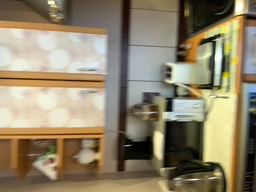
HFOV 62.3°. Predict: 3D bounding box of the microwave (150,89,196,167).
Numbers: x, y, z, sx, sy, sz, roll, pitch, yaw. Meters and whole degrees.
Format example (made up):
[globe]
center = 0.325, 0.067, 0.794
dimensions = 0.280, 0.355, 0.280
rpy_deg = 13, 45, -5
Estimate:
[microwave]
center = 0.290, 0.190, 1.450
dimensions = 0.320, 0.190, 0.470
rpy_deg = -164, 75, -79
